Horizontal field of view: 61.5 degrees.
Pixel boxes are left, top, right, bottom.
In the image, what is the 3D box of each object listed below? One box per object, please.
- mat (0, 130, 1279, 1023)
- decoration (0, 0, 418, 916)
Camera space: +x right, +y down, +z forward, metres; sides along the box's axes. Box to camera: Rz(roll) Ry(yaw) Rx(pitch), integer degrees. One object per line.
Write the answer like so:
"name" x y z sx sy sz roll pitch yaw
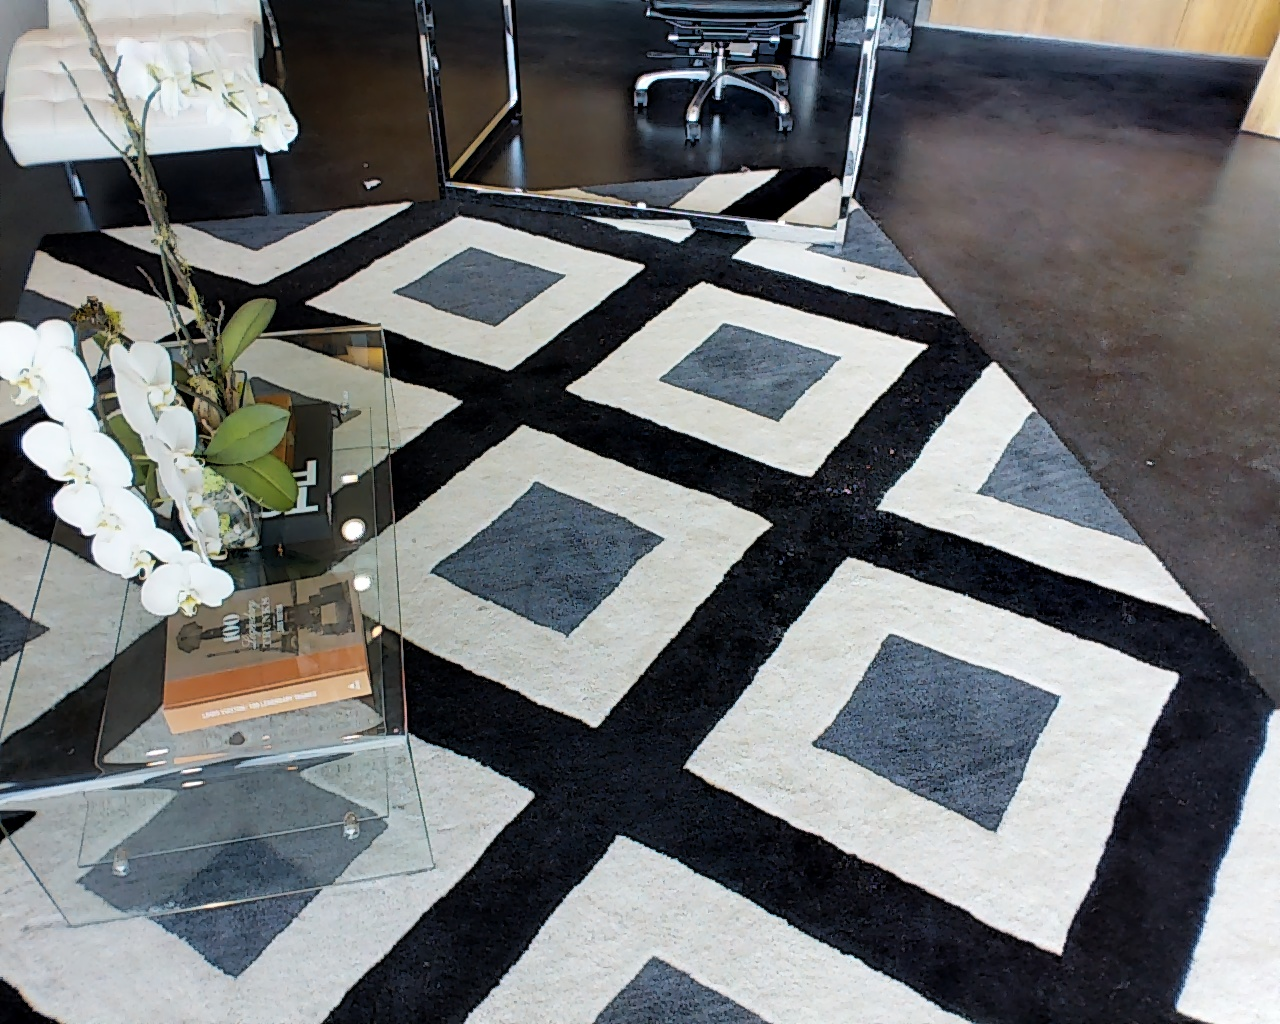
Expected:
"mat" -0.150 0.040 2.260 2.610 0.070 3.380 -9 44 -11
"decoration" -0.660 -0.210 1.670 0.470 1.150 1.130 -4 43 -6
